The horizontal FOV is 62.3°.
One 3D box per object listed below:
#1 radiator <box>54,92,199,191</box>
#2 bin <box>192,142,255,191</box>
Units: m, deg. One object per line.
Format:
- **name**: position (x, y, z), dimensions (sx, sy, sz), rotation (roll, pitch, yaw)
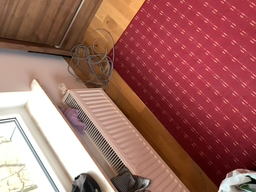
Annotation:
- **radiator**: position (-0.010, 0.330, 1.260), dimensions (0.870, 0.430, 0.140), rotation (47, 116, 21)
- **bin**: position (0.540, 0.440, 1.010), dimensions (0.280, 0.270, 0.270), rotation (-48, 69, 26)
